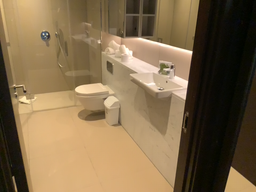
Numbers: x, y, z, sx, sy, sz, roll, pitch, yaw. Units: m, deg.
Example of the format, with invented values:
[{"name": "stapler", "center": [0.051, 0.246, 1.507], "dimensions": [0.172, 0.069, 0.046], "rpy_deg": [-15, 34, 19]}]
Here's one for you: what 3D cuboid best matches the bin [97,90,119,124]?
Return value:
[{"name": "bin", "center": [-0.290, 0.150, 3.050], "dimensions": [0.220, 0.380, 0.260], "rpy_deg": [-11, 26, -28]}]
